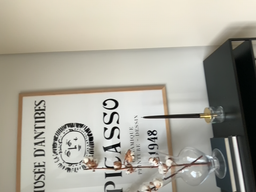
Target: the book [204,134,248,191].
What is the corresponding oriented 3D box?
[{"bbox_3d":[0.460,0.320,1.020,0.220,0.070,0.260,114,153,-80],"label":"book"}]
